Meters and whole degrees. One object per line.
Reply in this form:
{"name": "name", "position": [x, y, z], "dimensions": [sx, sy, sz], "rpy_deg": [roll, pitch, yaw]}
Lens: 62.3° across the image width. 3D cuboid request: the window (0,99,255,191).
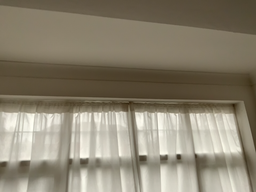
{"name": "window", "position": [0.030, 0.740, 1.660], "dimensions": [2.320, 1.420, 0.120], "rpy_deg": [2, -19, -15]}
